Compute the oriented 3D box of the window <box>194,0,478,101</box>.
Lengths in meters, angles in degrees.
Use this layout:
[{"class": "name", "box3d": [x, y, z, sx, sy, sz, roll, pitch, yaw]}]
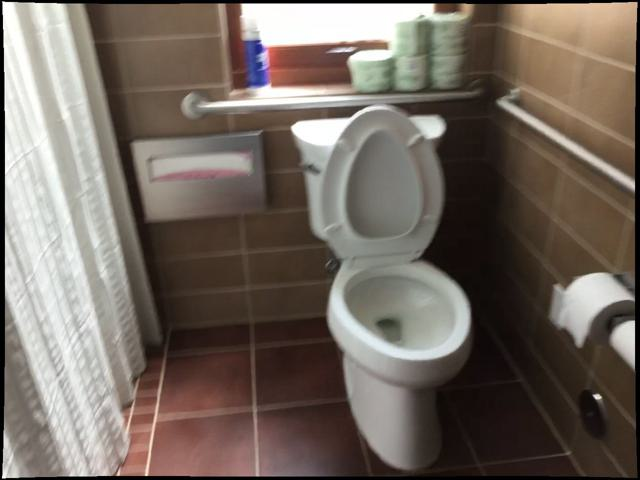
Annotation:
[{"class": "window", "box3d": [0.050, -1.003, 1.710, 0.888, 1.112, 0.120, -4, 29, -6]}]
